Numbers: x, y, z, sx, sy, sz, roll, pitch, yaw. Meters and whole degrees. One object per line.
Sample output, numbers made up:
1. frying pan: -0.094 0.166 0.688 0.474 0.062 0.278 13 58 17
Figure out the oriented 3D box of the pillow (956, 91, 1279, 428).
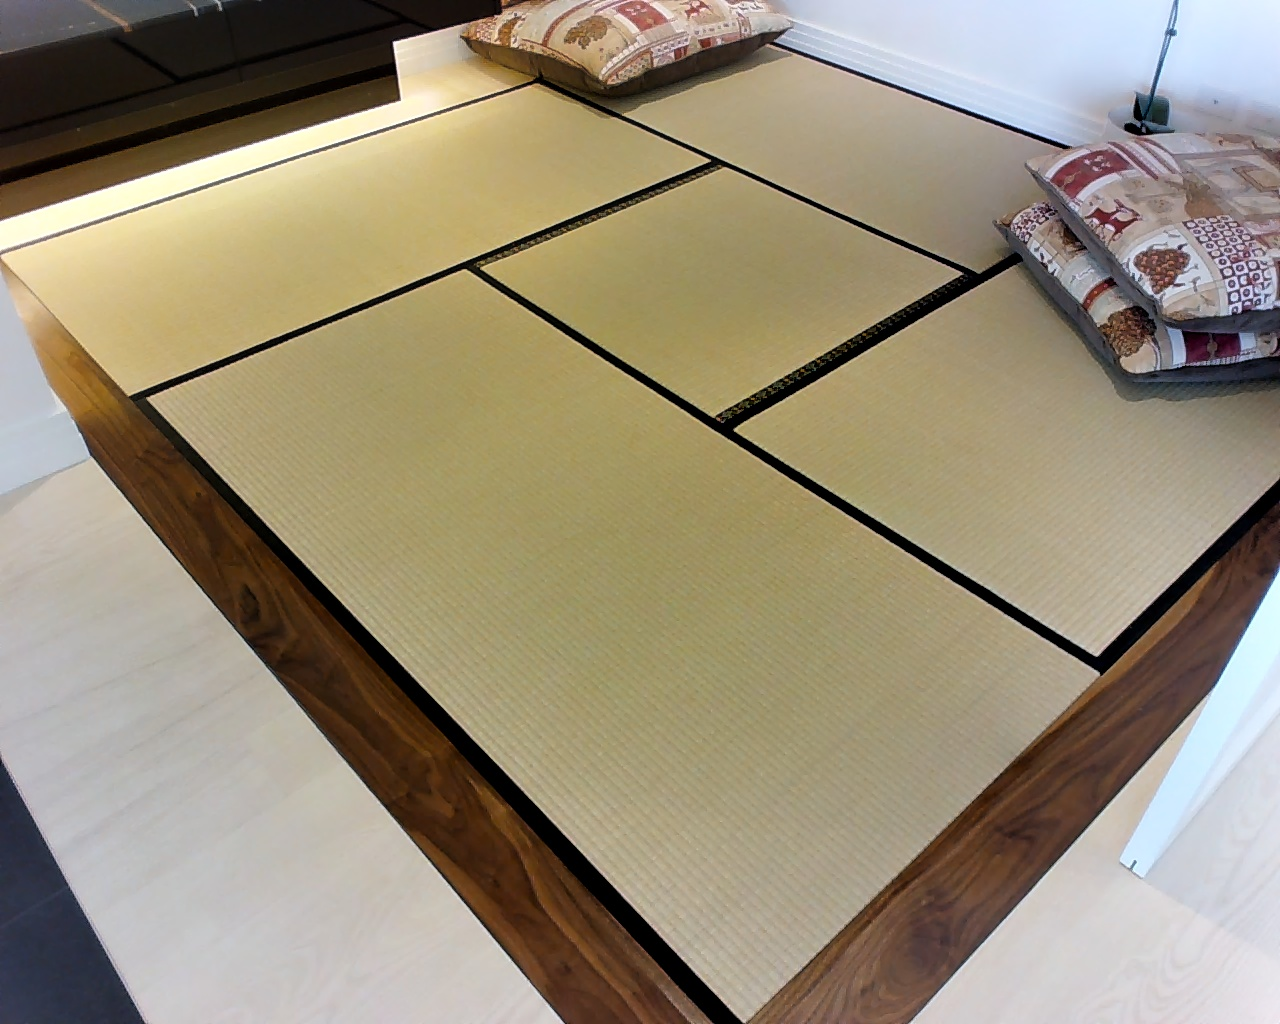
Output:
1. pillow: 1.290 -0.620 2.490 0.780 0.350 0.850 -5 42 -6
